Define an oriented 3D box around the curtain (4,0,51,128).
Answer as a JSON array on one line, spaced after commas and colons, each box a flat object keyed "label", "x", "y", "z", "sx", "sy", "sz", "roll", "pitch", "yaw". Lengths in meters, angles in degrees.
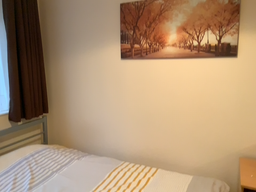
[{"label": "curtain", "x": -1.060, "y": -0.490, "z": 2.260, "sx": 0.120, "sy": 1.610, "sz": 0.370, "roll": 4, "pitch": 11, "yaw": 25}]
